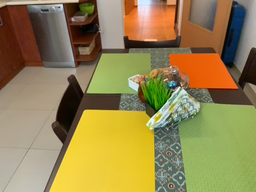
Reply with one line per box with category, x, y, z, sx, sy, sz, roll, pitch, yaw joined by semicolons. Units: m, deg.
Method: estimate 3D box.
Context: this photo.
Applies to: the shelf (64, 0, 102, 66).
shelf;-0.580;-0.920;2.890;0.260;0.850;0.540;1;35;5
